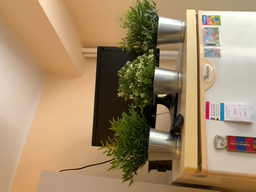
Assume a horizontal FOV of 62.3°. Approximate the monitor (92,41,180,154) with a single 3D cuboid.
[{"bbox_3d":[0.030,0.000,0.940,0.060,0.350,0.460,-8,-78,-81],"label":"monitor"}]
